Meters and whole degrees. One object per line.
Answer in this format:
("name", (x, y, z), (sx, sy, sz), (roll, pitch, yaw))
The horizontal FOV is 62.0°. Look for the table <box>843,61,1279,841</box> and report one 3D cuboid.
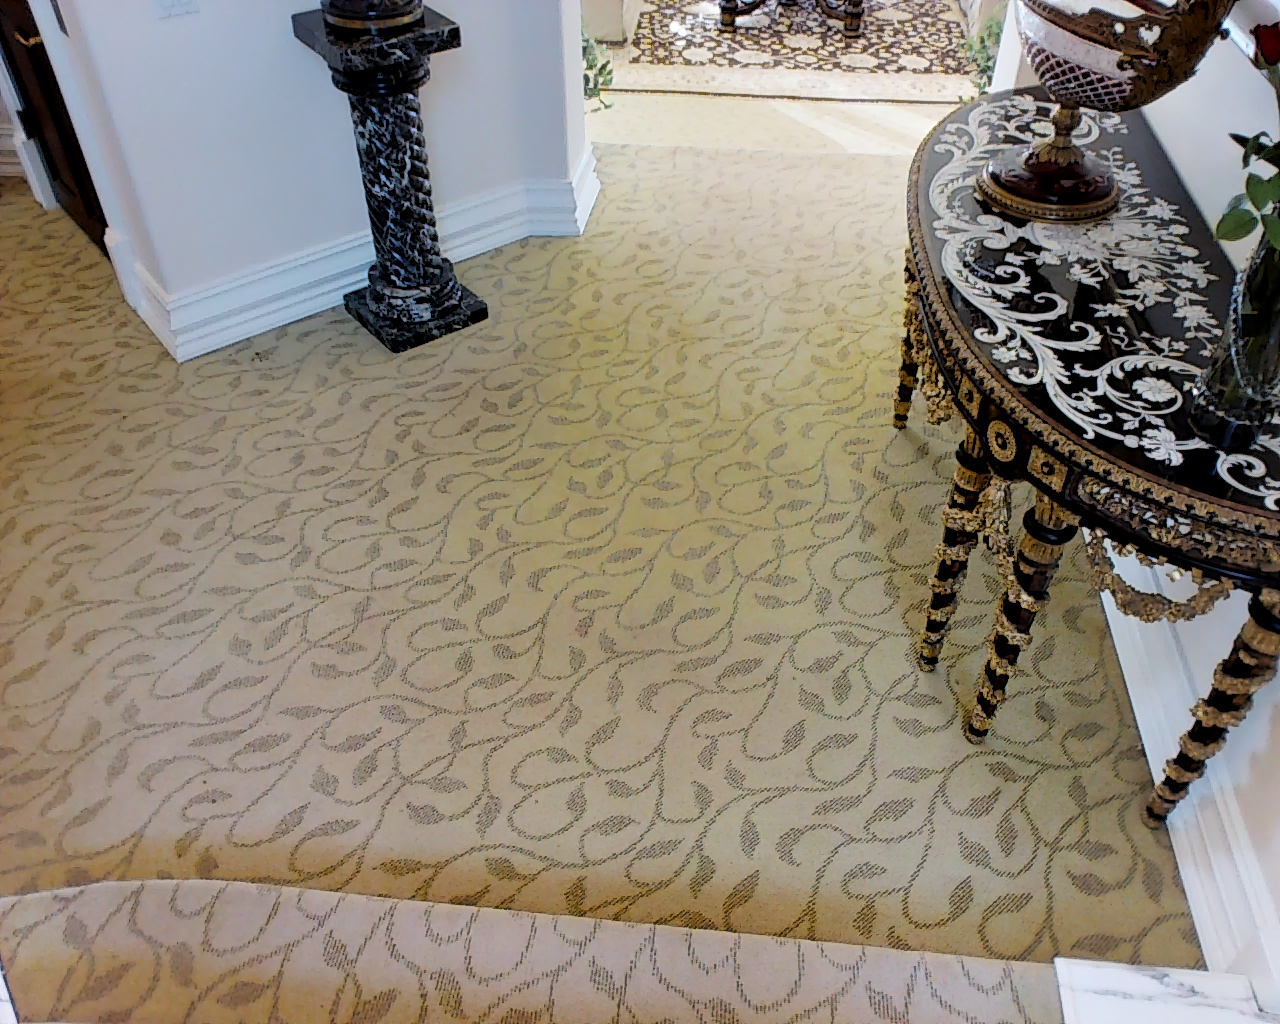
("table", (0.860, -0.300, 2.420), (0.620, 0.790, 1.810), (4, 41, 4))
